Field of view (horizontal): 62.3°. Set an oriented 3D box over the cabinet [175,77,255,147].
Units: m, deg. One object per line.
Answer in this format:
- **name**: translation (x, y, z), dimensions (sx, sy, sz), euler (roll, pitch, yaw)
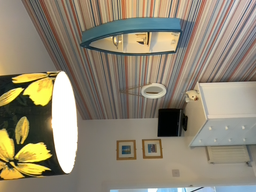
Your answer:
- **cabinet**: translation (1.190, 0.240, 2.540), dimensions (0.970, 1.010, 0.480), euler (89, 179, -63)
